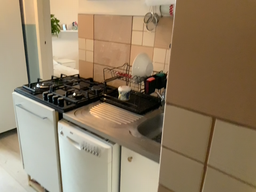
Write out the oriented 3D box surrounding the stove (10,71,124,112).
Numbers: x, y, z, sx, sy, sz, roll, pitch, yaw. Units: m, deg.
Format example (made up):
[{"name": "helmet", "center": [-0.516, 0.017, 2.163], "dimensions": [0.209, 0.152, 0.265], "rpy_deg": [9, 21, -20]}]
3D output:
[{"name": "stove", "center": [-0.450, -0.070, 1.640], "dimensions": [0.590, 0.050, 0.610], "rpy_deg": [16, 23, 32]}]
